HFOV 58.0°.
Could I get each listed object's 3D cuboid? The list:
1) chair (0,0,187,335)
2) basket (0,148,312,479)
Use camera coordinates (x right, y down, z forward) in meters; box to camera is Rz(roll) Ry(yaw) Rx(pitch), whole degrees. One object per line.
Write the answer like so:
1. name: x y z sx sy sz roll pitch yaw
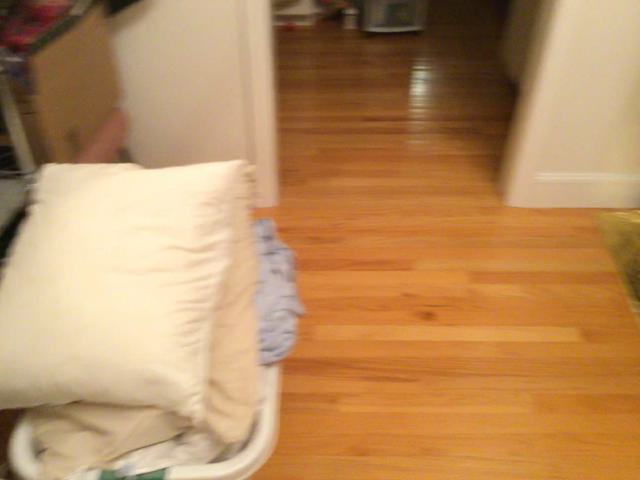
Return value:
1. chair: -0.760 -0.230 1.590 0.550 0.780 0.580 -4 39 0
2. basket: -0.300 0.230 1.260 0.530 0.520 0.740 -3 39 2
